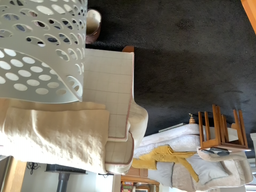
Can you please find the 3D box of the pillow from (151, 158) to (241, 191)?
[{"bbox_3d":[0.980,1.300,3.490,0.280,0.470,1.620,-1,167,-29],"label":"pillow"}]

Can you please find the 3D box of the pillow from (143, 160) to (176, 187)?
[{"bbox_3d":[0.560,1.370,3.760,0.470,0.390,0.200,-15,174,33],"label":"pillow"}]

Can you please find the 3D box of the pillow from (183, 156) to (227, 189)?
[{"bbox_3d":[1.060,1.050,2.970,0.190,0.340,0.500,-10,176,-35],"label":"pillow"}]

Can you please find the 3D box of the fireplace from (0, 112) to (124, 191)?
[{"bbox_3d":[-0.970,1.290,3.500,1.880,1.530,0.550,23,149,-38],"label":"fireplace"}]
